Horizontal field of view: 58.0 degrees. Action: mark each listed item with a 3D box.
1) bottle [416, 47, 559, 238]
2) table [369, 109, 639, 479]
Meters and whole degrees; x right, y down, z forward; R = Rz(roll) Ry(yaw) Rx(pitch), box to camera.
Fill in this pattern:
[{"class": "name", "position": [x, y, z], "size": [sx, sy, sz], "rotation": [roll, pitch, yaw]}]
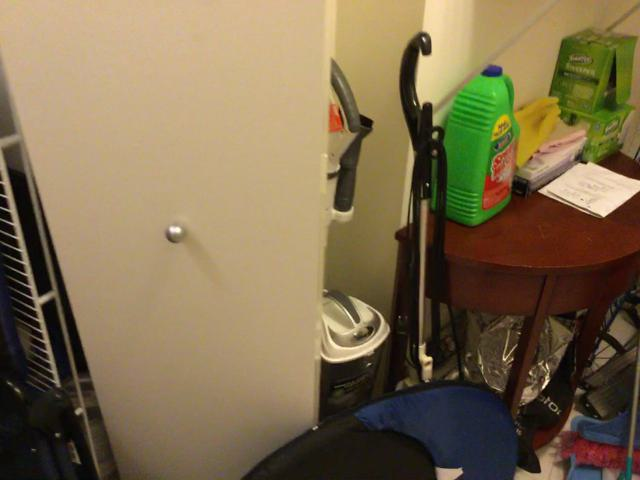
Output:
[{"class": "bottle", "position": [0.330, -0.200, 1.170], "size": [0.150, 0.310, 0.190], "rotation": [30, 43, 35]}, {"class": "table", "position": [0.530, 0.200, 1.470], "size": [0.660, 0.820, 0.420], "rotation": [-27, 43, -35]}]
